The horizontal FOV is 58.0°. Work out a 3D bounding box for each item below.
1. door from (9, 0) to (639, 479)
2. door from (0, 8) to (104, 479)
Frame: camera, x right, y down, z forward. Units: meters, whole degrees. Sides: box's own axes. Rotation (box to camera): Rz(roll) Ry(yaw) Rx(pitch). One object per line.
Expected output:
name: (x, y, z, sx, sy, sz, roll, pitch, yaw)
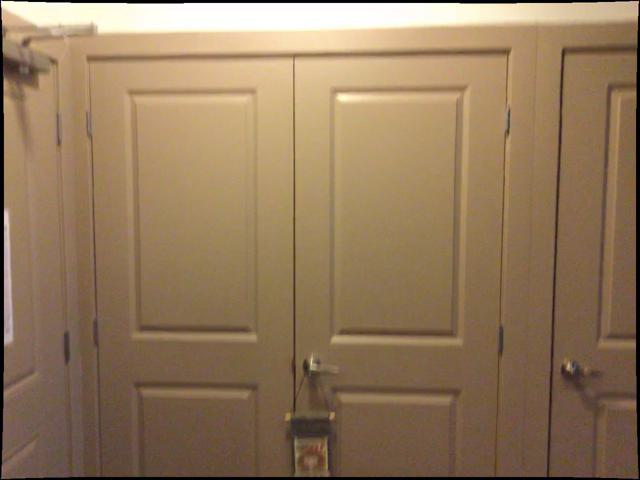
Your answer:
door: (0.249, 0.211, 2.000, 2.434, 1.975, 0.300, 0, 8, 6)
door: (-0.948, 0.371, 1.670, 0.130, 2.035, 1.040, -1, 8, 2)
